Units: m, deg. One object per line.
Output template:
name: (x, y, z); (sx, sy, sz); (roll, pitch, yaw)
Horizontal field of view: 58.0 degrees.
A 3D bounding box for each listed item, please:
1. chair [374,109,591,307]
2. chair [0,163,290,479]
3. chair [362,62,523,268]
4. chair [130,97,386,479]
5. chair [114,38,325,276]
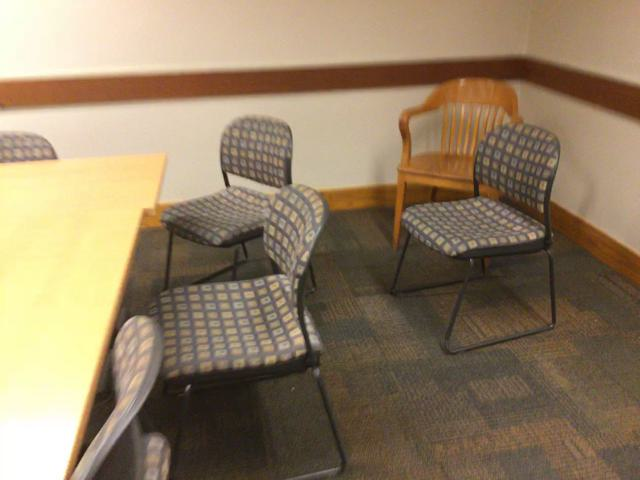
chair: (0.590, -0.160, 2.250); (0.530, 0.570, 0.520); (-9, 26, -24)
chair: (-0.360, 0.330, 1.050); (0.500, 0.800, 0.500); (-5, 25, -15)
chair: (0.630, -0.420, 2.980); (0.630, 0.850, 0.620); (10, 25, 17)
chair: (-0.200, 0.120, 1.660); (0.560, 0.950, 0.490); (-5, 25, -15)
chair: (-0.380, -0.370, 2.290); (0.560, 0.750, 0.530); (21, 30, 36)
